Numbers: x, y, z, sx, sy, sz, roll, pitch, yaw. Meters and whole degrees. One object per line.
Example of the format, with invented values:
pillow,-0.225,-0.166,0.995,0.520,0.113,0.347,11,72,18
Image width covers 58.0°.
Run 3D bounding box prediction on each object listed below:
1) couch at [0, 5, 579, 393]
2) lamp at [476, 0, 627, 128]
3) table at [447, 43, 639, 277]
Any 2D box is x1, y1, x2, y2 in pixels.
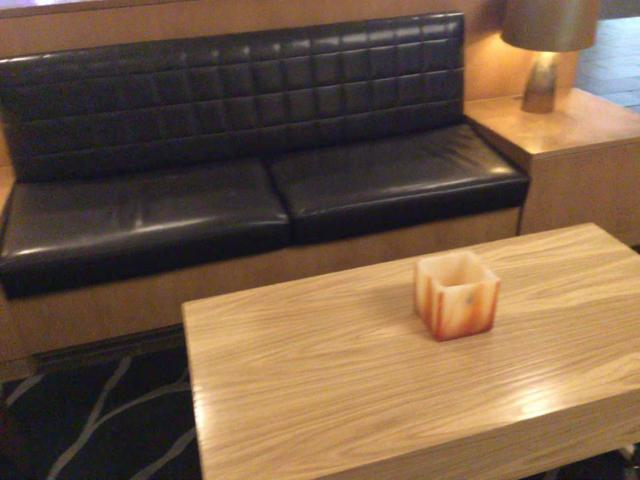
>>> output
couch,-0.160,-0.250,2.140,1.900,0.930,0.700,-11,29,-13
lamp,0.910,-0.780,2.340,0.330,0.500,0.430,-11,29,-13
table,1.020,-0.370,2.400,0.710,0.690,0.650,-11,29,-13
